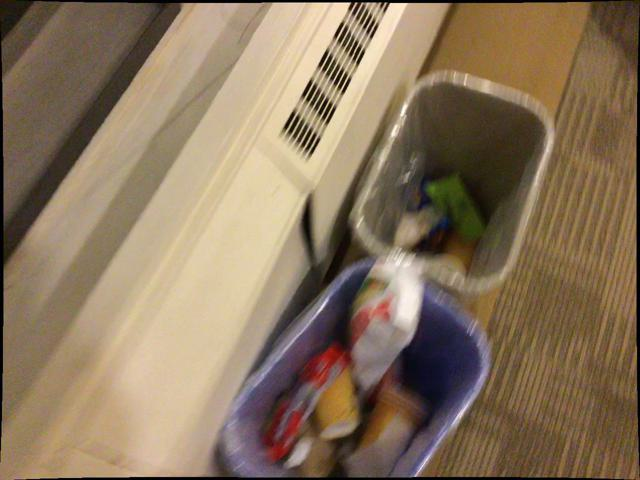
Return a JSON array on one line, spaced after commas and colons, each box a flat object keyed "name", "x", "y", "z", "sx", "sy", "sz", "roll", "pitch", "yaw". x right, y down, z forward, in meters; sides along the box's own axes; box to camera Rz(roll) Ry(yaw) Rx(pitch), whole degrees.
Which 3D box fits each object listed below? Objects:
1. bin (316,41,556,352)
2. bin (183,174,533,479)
[{"name": "bin", "x": 0.210, "y": -0.070, "z": 1.130, "sx": 0.300, "sy": 0.360, "sz": 0.420, "roll": 18, "pitch": 67, "yaw": 9}, {"name": "bin", "x": 0.070, "y": 0.230, "z": 0.970, "sx": 0.290, "sy": 0.400, "sz": 0.470, "roll": 28, "pitch": 69, "yaw": 13}]
